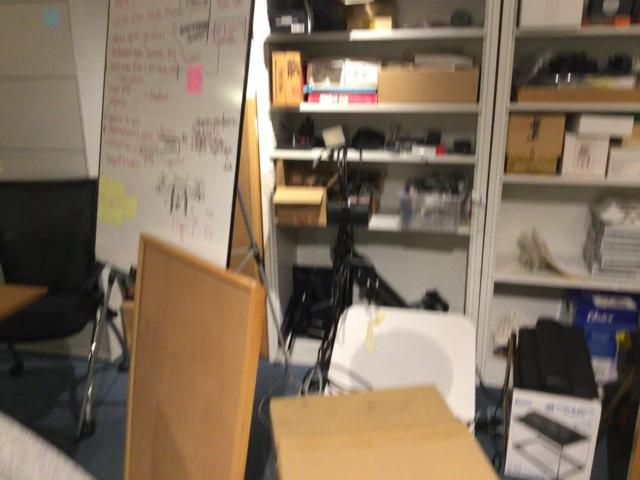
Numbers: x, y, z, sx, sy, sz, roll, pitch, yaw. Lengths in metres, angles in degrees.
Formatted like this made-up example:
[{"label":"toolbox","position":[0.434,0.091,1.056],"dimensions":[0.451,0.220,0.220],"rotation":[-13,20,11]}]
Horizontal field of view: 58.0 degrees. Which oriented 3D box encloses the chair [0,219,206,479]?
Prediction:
[{"label":"chair","position":[-0.900,0.450,2.370],"dimensions":[0.620,0.950,0.610],"rotation":[-1,14,6]}]
